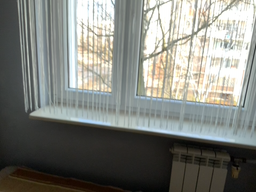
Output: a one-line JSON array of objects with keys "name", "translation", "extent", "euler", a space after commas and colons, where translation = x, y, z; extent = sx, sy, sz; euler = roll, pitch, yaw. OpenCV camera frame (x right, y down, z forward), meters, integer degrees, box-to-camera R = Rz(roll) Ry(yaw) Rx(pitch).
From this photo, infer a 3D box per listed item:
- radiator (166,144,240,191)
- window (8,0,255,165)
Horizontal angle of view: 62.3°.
[{"name": "radiator", "translation": [0.450, 0.540, 1.350], "extent": [0.380, 0.390, 0.120], "euler": [7, 17, 12]}, {"name": "window", "translation": [0.170, -0.580, 1.100], "extent": [1.620, 1.810, 0.200], "euler": [6, 16, 8]}]
